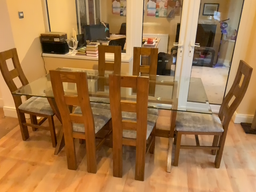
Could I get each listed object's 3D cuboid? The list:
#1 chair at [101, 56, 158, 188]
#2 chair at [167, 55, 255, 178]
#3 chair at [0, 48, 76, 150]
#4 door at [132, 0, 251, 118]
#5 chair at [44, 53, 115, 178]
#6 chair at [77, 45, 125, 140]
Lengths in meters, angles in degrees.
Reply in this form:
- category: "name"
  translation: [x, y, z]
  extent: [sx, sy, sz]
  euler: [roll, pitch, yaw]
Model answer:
- category: "chair"
  translation: [0.040, 0.220, 2.010]
  extent: [0.400, 1.050, 0.600]
  euler: [4, 24, 8]
- category: "chair"
  translation: [0.750, 0.190, 2.110]
  extent: [0.610, 1.050, 0.500]
  euler: [5, 24, 10]
- category: "chair"
  translation: [-1.050, 0.020, 2.450]
  extent: [0.660, 1.020, 0.440]
  euler: [6, 25, 11]
- category: "door"
  translation: [0.800, -0.710, 3.020]
  extent: [1.440, 2.110, 0.110]
  euler: [5, 24, 10]
- category: "chair"
  translation: [-0.410, 0.170, 2.110]
  extent: [0.410, 1.040, 0.590]
  euler: [6, 24, 10]
- category: "chair"
  translation: [-0.300, -0.070, 2.680]
  extent: [0.390, 1.020, 0.590]
  euler: [6, 25, 10]
